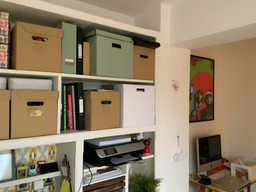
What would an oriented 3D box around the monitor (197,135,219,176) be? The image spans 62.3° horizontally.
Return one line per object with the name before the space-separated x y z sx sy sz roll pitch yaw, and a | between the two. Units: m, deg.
monitor | 1.020 0.740 2.680 0.380 0.440 0.050 1 0 -36
